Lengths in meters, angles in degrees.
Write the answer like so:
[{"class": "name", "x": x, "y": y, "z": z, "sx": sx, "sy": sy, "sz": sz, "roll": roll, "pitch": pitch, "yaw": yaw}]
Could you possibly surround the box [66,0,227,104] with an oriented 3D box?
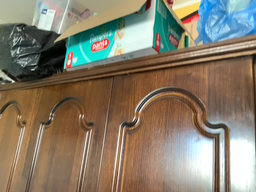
[{"class": "box", "x": 0.170, "y": -0.230, "z": 1.150, "sx": 0.520, "sy": 0.350, "sz": 0.770, "roll": -4, "pitch": -18, "yaw": 36}]
